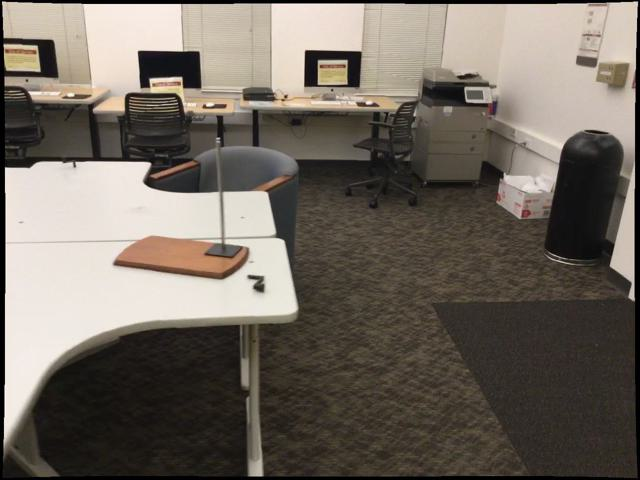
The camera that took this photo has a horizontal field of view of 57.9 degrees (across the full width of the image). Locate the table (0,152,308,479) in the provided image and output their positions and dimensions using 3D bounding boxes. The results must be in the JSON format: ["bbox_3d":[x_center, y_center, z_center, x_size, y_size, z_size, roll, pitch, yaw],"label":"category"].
[{"bbox_3d":[-0.829,0.300,2.210,1.369,0.721,2.430,-1,22,-6],"label":"table"}]

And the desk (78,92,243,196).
[{"bbox_3d":[-1.339,-0.891,5.180,1.239,0.721,0.970,-1,22,-6],"label":"desk"}]

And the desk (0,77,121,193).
[{"bbox_3d":[-2.547,-0.951,5.110,1.269,0.851,0.850,-1,22,-6],"label":"desk"}]

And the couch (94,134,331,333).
[{"bbox_3d":[-0.539,-0.110,3.210,0.869,0.711,0.910,12,24,25],"label":"couch"}]
